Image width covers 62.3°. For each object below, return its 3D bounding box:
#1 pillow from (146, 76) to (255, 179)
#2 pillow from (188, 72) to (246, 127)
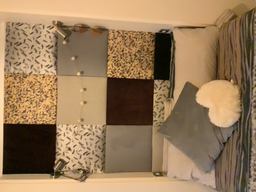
[{"bbox_3d":[0.580,0.300,1.880,0.610,0.580,0.470,-46,22,34],"label":"pillow"},{"bbox_3d":[0.700,0.010,1.650,0.390,0.330,0.160,-14,-18,-47],"label":"pillow"}]
